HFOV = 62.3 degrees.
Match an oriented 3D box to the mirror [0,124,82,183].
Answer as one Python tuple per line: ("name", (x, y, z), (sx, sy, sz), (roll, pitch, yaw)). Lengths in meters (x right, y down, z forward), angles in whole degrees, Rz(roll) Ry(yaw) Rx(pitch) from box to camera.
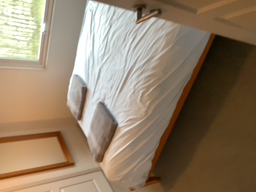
("mirror", (-1.690, 0.810, 3.070), (0.930, 1.830, 0.070), (48, 127, 42))
